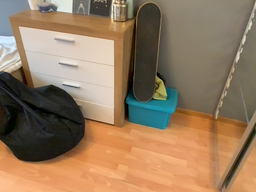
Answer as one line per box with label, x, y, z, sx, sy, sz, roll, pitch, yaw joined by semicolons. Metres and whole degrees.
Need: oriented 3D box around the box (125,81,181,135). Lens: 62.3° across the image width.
box;0.230;0.100;1.970;0.420;0.270;0.320;14;38;14
